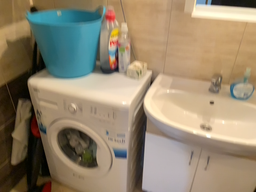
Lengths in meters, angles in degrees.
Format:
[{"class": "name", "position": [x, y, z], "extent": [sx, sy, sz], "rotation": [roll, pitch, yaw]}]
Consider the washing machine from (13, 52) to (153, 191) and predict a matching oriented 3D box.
[{"class": "washing machine", "position": [-0.230, 0.230, 1.410], "extent": [0.630, 0.840, 0.440], "rotation": [12, 35, 16]}]

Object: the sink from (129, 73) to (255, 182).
[{"class": "sink", "position": [0.400, 0.120, 1.060], "extent": [0.670, 0.180, 0.450], "rotation": [12, 35, 16]}]
